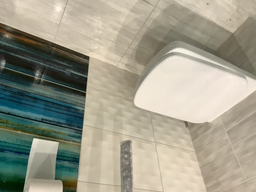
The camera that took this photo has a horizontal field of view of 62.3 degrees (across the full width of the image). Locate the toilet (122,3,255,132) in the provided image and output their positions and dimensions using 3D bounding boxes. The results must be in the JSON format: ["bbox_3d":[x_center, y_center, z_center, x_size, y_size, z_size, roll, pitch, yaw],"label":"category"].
[{"bbox_3d":[0.290,-0.110,1.060,0.520,0.350,0.370,16,135,-22],"label":"toilet"}]
